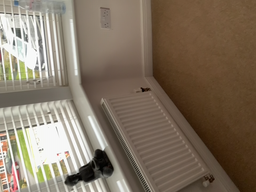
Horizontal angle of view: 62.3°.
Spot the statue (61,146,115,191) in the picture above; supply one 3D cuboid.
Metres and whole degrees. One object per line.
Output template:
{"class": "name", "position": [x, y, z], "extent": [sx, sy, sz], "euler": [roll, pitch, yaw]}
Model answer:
{"class": "statue", "position": [-0.240, 0.440, 1.240], "extent": [0.170, 0.230, 0.180], "euler": [56, 137, 31]}
